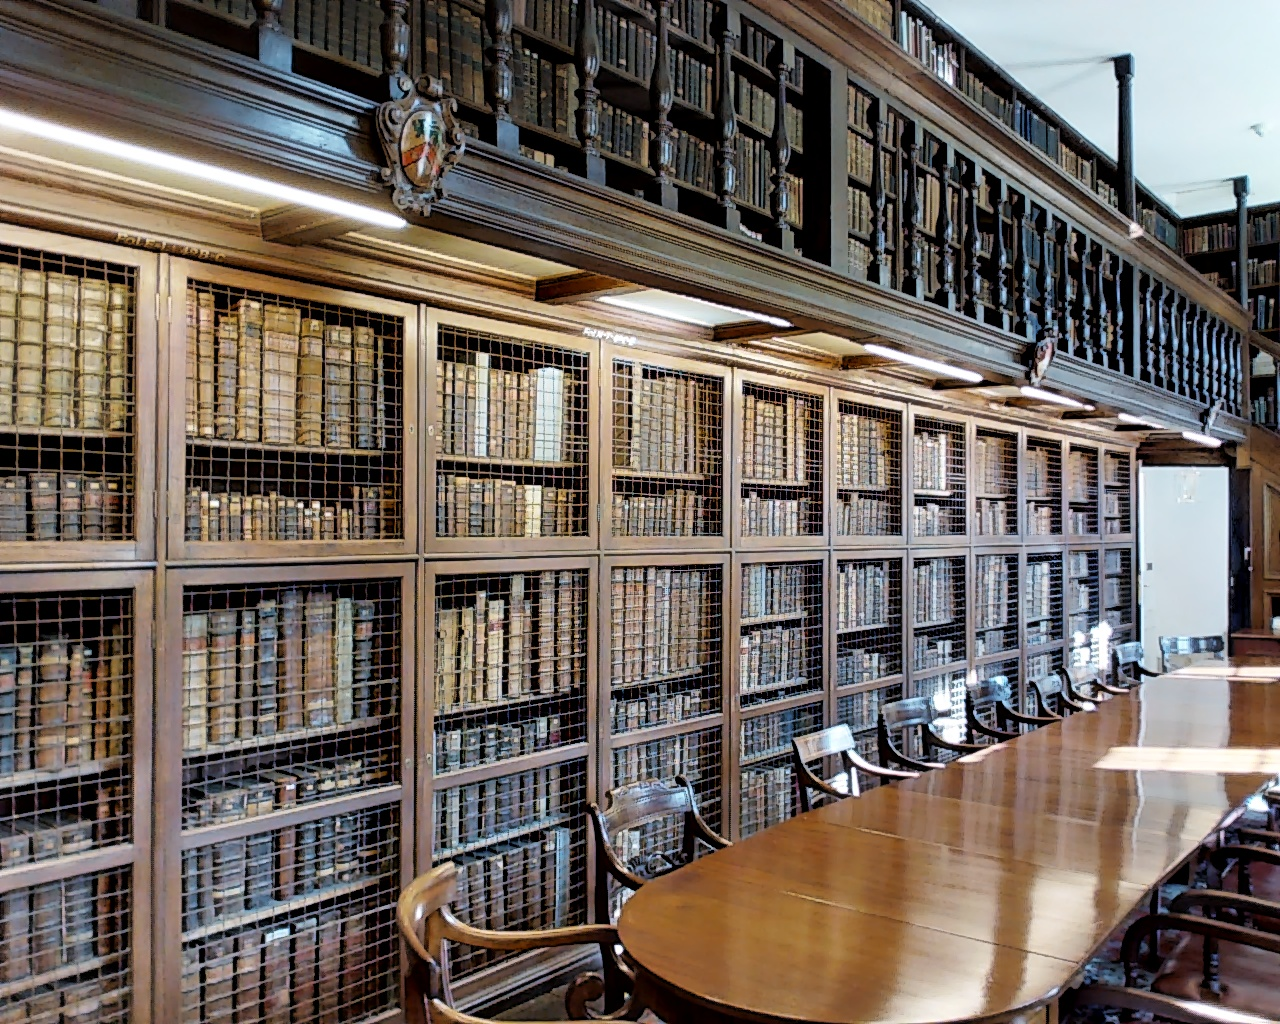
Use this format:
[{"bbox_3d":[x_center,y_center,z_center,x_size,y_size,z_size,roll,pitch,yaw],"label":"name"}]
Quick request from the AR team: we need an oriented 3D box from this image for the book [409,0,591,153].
[{"bbox_3d":[-0.460,-1.480,3.680,0.130,0.270,0.720,-1,-2,40],"label":"book"}]
